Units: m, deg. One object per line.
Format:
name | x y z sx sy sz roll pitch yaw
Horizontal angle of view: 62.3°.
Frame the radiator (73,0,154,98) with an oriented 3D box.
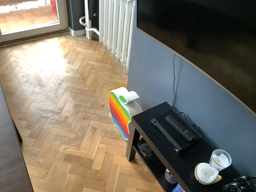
radiator | -0.230 -0.710 1.990 0.170 0.970 1.130 -19 52 -25
